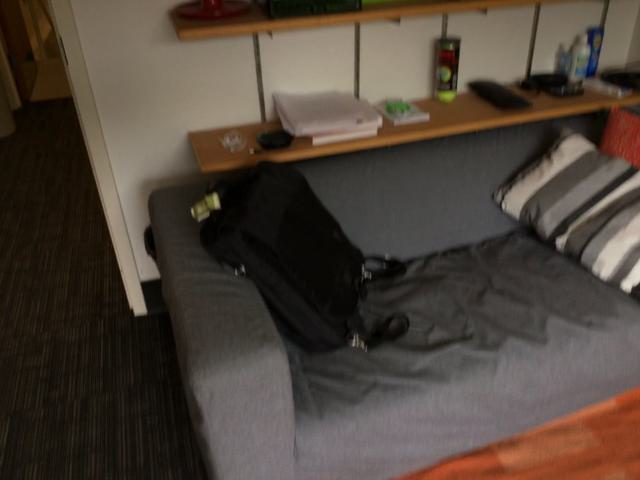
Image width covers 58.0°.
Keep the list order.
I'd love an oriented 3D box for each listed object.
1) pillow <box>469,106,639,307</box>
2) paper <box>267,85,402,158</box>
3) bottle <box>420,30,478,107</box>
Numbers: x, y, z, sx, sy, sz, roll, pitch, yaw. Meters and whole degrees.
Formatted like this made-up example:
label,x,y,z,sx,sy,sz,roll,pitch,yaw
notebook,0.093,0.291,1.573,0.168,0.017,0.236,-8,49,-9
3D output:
label,x,y,z,sx,sy,sz,roll,pitch,yaw
pillow,0.830,-0.140,1.710,0.520,0.300,0.590,-11,29,-12
paper,0.040,-0.380,1.810,0.350,0.110,0.270,-11,29,-12
bottle,0.430,-0.580,1.950,0.130,0.210,0.150,-11,29,-12
